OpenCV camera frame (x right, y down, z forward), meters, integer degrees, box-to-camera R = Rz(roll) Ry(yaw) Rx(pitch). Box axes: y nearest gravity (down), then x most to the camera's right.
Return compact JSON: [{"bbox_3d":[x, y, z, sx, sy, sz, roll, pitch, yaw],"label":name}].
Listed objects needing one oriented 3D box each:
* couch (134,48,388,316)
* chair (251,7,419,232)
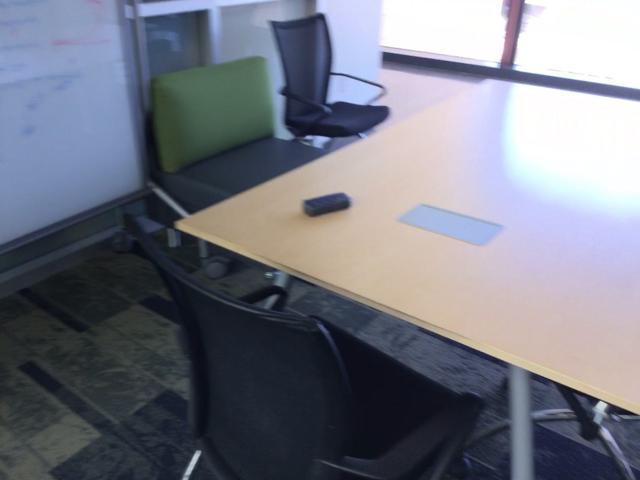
[{"bbox_3d":[-0.220,-0.310,2.520,0.710,0.840,0.730,20,34,34],"label":"couch"},{"bbox_3d":[0.080,-0.650,3.000,0.610,0.960,0.530,20,34,34],"label":"chair"}]
